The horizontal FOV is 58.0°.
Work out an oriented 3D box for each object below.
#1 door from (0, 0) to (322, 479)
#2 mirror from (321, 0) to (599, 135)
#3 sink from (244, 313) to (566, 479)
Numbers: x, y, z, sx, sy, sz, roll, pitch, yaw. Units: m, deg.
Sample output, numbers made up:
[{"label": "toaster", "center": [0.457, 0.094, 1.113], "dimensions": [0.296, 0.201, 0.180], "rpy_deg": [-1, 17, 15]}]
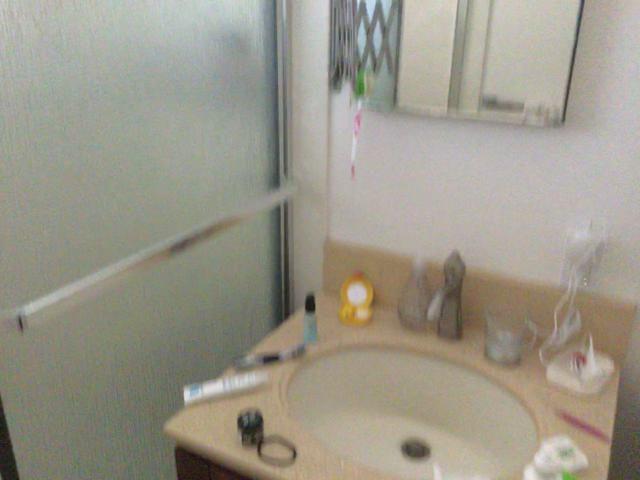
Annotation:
[{"label": "door", "center": [-0.430, 0.080, 0.740], "dimensions": [0.130, 1.420, 1.410], "rpy_deg": [12, 23, 30]}, {"label": "mirror", "center": [0.220, -0.550, 0.960], "dimensions": [0.480, 0.700, 0.060], "rpy_deg": [12, 23, 30]}, {"label": "sink", "center": [0.160, 0.330, 1.130], "dimensions": [0.530, 0.140, 0.310], "rpy_deg": [12, 23, 30]}]
